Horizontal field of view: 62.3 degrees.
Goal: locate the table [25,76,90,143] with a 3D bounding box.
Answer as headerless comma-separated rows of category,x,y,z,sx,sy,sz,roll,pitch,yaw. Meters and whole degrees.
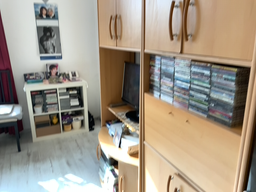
table,-1.050,0.170,3.200,0.820,0.810,0.420,-7,18,-24
